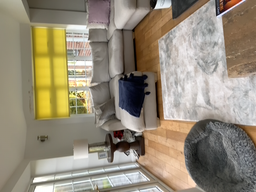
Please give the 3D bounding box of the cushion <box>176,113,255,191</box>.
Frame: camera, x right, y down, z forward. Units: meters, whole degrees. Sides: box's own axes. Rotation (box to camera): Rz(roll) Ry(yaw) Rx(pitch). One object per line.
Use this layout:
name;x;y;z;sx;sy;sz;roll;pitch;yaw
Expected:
cushion;0.780;0.540;2.000;0.900;0.170;0.680;178;90;-72

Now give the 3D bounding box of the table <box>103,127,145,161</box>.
table;-0.090;0.910;4.140;0.520;0.670;0.490;174;93;-72
